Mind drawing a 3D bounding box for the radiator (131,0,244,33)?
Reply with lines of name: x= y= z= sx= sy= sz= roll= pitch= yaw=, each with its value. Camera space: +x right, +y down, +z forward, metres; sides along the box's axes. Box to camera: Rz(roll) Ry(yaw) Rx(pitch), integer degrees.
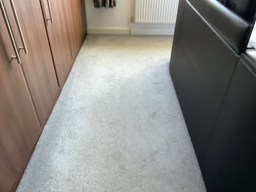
radiator: x=0.740 y=-1.170 z=2.770 sx=1.390 sy=0.590 sz=0.120 roll=4 pitch=38 yaw=3
